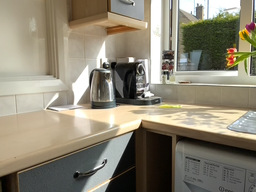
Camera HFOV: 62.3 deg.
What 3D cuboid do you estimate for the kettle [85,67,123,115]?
[{"bbox_3d":[-0.140,-0.040,1.250,0.150,0.260,0.160,-8,10,-44],"label":"kettle"}]
